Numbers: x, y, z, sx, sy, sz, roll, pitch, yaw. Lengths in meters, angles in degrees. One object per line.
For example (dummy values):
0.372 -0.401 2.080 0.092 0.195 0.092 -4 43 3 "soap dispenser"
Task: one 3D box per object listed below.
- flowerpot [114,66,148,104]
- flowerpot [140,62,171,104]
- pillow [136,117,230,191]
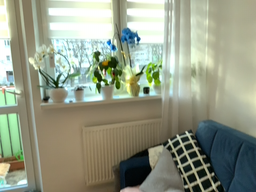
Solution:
0.030 -0.120 2.160 0.280 0.340 0.240 -5 11 -17 "flowerpot"
0.280 -0.150 2.220 0.220 0.400 0.280 -5 11 -17 "flowerpot"
0.380 0.500 1.640 0.230 0.510 0.540 34 -1 -20 "pillow"
